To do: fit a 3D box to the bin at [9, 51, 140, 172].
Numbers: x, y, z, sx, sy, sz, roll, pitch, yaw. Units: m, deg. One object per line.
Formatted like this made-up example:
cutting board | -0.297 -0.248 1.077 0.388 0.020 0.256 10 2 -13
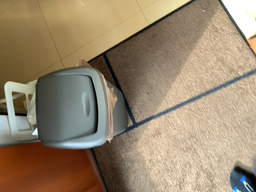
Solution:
bin | -0.180 0.080 0.940 0.280 0.520 0.330 -18 79 14
